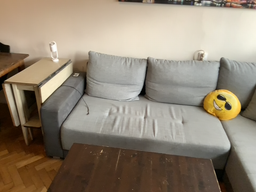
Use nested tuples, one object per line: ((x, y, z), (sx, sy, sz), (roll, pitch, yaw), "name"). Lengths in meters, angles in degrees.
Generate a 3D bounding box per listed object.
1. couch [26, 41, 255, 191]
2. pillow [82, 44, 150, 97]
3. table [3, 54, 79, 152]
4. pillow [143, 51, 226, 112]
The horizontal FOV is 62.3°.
((0.530, 0.120, 2.050), (2.450, 0.910, 0.990), (5, 27, 3), "couch")
((-0.110, -0.260, 2.250), (0.640, 0.470, 0.260), (3, 46, 3), "pillow")
((-0.840, 0.030, 2.270), (0.370, 0.730, 0.800), (5, 27, 3), "table")
((0.530, -0.140, 2.190), (0.710, 0.500, 0.290), (5, 43, 4), "pillow")
